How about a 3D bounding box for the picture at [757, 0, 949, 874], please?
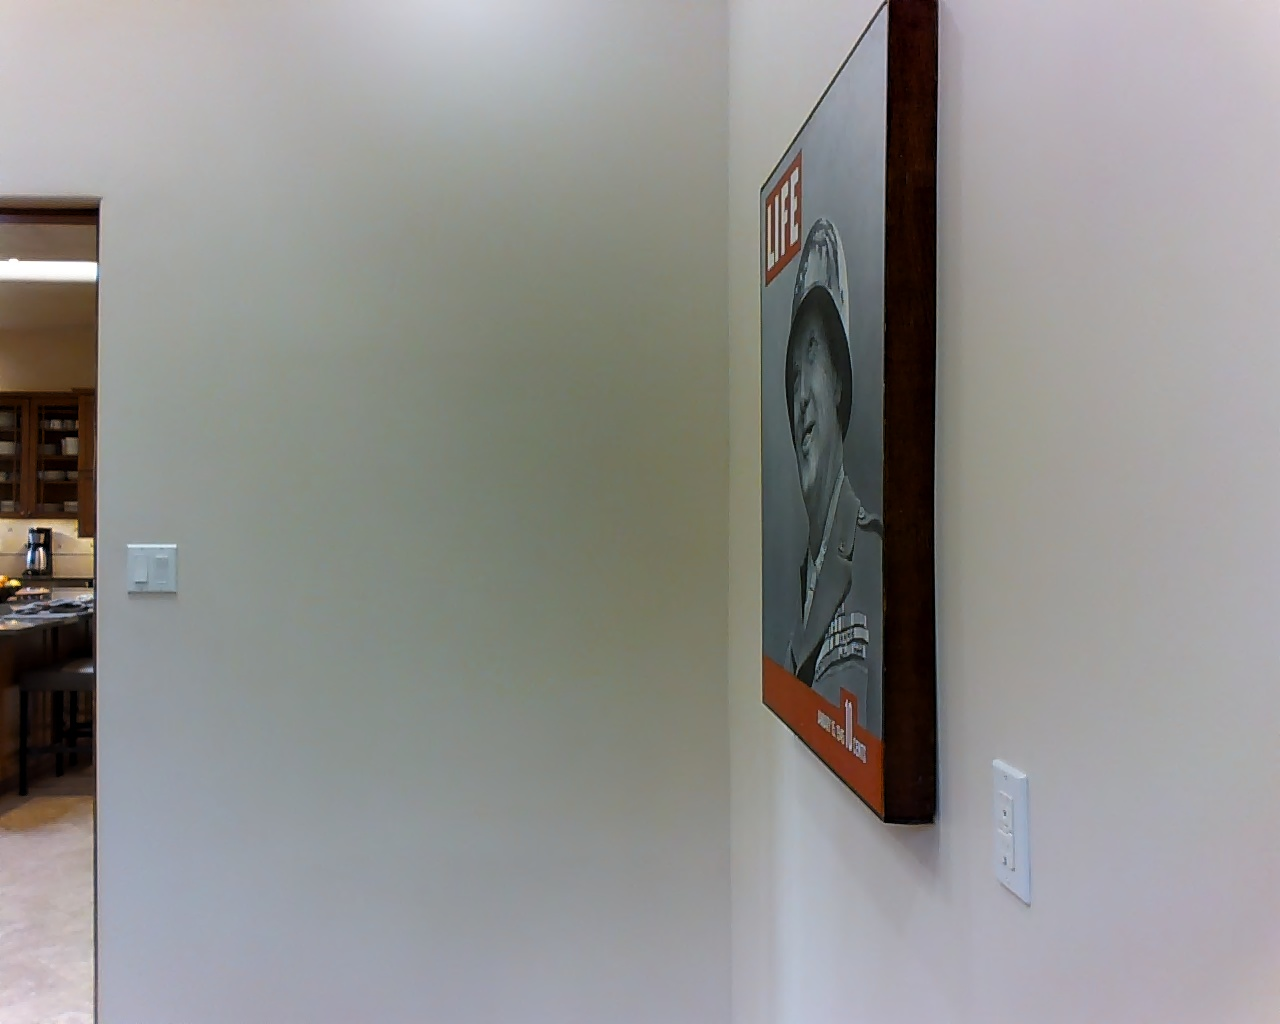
[{"bbox_3d":[0.270,-0.090,1.530,0.070,0.960,0.760,0,-1,-4],"label":"picture"}]
